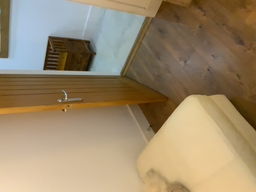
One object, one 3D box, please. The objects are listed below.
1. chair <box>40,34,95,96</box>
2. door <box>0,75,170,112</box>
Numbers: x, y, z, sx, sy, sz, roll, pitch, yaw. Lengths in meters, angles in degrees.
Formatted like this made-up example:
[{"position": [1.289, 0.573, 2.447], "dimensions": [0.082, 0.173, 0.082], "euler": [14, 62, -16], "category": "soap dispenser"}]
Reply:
[{"position": [-1.030, -0.470, 3.520], "dimensions": [0.370, 0.630, 0.960], "euler": [62, 139, 33], "category": "chair"}, {"position": [-0.610, -0.060, 1.820], "dimensions": [0.680, 2.040, 0.050], "euler": [33, 119, 51], "category": "door"}]
